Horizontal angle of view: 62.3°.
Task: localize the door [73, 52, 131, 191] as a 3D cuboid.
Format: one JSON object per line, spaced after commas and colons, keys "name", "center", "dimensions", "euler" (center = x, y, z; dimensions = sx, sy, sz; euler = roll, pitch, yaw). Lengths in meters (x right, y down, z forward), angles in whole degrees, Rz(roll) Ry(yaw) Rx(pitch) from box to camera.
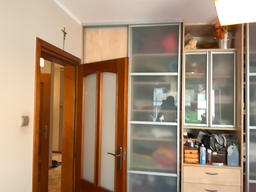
{"name": "door", "center": [-0.330, 0.610, 2.370], "dimensions": [0.760, 2.090, 0.130], "euler": [1, -1, 42]}
